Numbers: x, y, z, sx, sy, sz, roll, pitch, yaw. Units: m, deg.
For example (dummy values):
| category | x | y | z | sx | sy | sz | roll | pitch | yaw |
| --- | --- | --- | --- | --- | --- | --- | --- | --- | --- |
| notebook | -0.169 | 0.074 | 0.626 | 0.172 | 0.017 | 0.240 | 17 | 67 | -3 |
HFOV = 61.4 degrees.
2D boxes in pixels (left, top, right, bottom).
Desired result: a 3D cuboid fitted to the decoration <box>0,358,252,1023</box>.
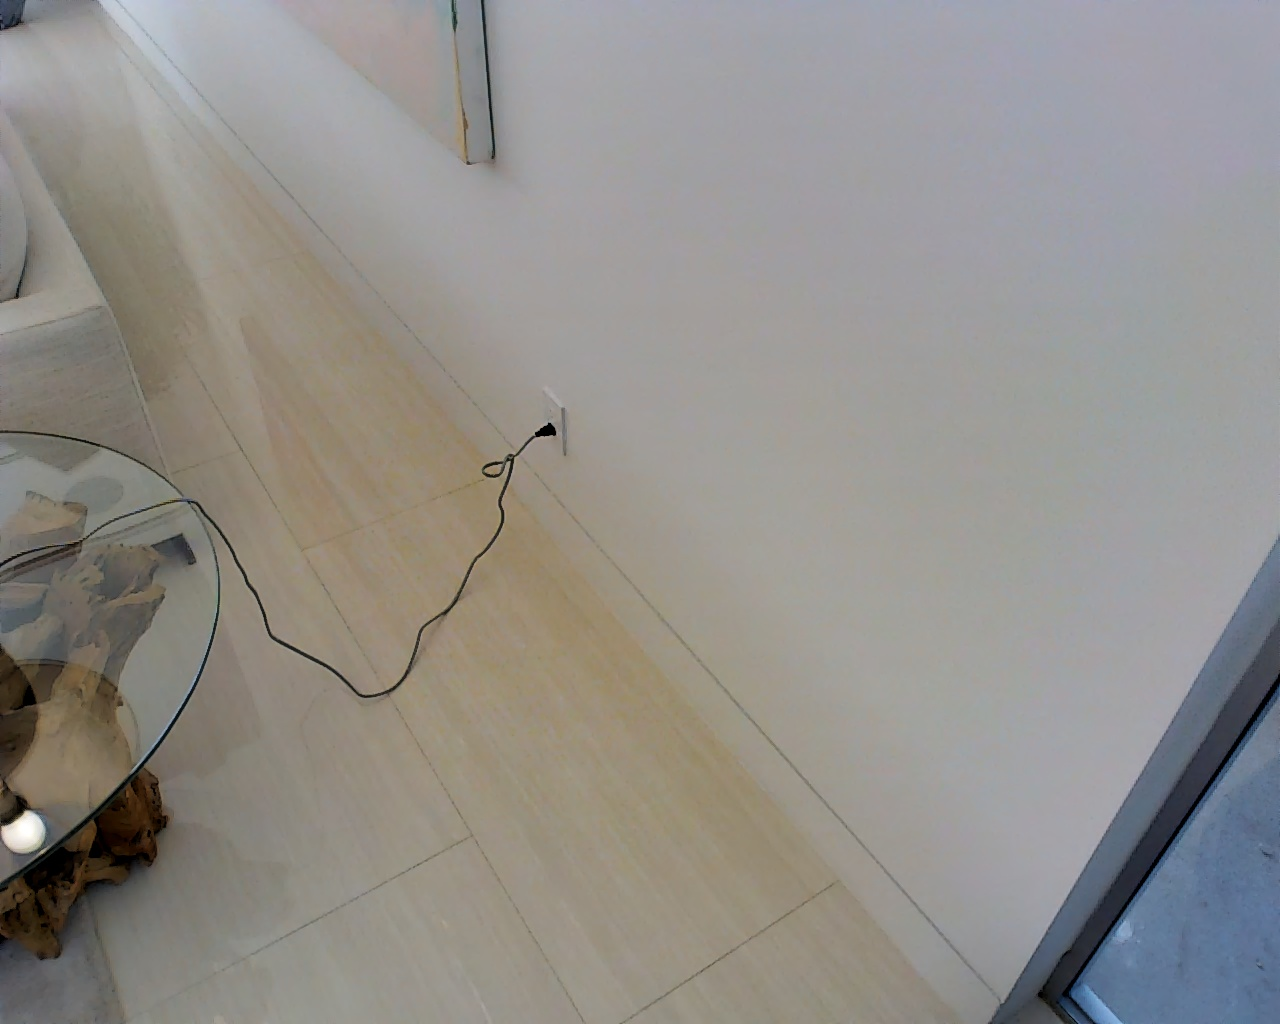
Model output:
| category | x | y | z | sx | sy | sz | roll | pitch | yaw |
| --- | --- | --- | --- | --- | --- | --- | --- | --- | --- |
| decoration | -1.000 | 0.320 | 1.540 | 0.640 | 0.780 | 0.660 | -7 | 43 | -8 |
